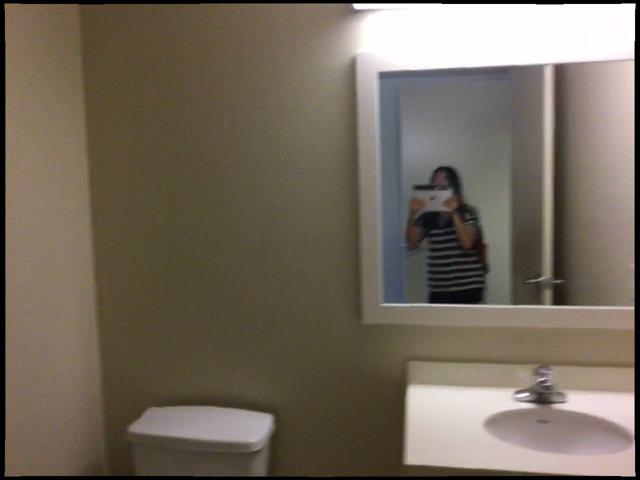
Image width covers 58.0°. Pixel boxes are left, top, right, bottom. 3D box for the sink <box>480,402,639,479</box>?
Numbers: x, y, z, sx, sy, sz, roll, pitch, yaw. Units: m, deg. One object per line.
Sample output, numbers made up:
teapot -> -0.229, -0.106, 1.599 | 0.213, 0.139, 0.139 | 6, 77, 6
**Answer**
sink -> 0.639, 0.571, 1.530 | 0.379, 0.140, 0.320 | 0, 8, 10
